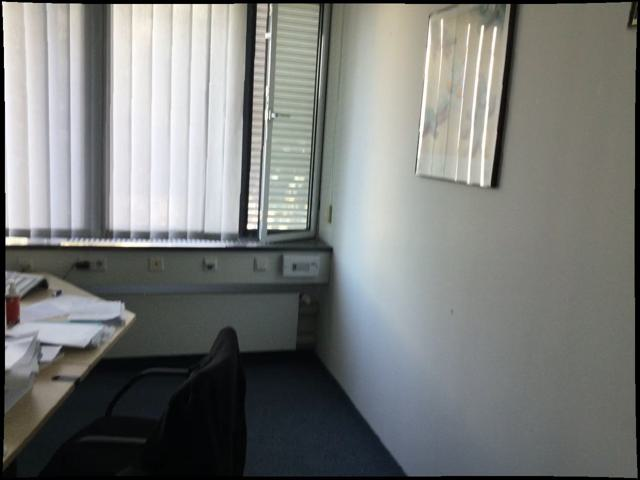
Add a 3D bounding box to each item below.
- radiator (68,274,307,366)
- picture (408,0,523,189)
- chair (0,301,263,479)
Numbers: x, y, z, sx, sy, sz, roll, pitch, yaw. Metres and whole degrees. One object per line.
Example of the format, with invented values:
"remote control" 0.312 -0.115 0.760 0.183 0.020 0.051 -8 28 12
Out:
"radiator" -0.809 0.490 3.690 1.429 0.440 0.230 -2 12 -16
"picture" 0.529 -0.551 2.250 0.050 0.621 0.690 -2 12 -16
"chair" -0.569 0.731 1.980 0.639 0.861 0.600 3 12 4
